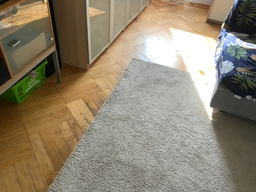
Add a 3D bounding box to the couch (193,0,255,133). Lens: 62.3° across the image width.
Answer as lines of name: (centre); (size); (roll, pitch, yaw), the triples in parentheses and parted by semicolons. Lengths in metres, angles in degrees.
couch: (1.030, -0.350, 1.880); (0.540, 0.690, 1.060); (19, 44, 13)
